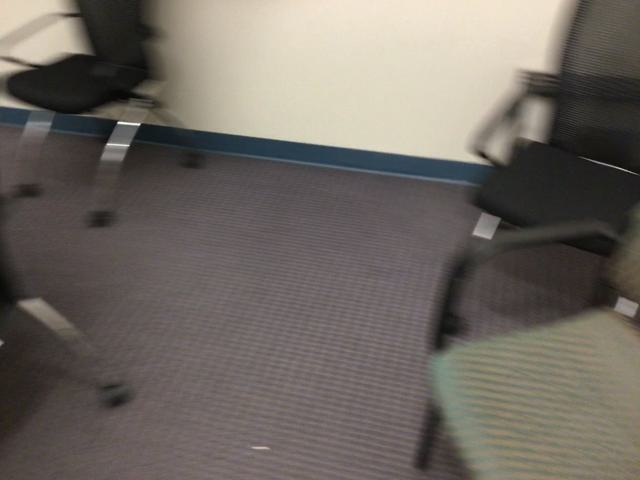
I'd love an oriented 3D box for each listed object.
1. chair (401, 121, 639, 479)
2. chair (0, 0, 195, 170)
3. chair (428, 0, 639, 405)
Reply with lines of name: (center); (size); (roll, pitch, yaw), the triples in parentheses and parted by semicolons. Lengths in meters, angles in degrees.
chair: (0.490, 0.150, 0.970); (0.590, 0.440, 0.490); (11, 38, 11)
chair: (-0.870, -0.730, 2.060); (0.600, 0.700, 0.540); (11, 38, 11)
chair: (0.730, -0.190, 1.510); (0.610, 0.900, 0.580); (23, 44, 30)
